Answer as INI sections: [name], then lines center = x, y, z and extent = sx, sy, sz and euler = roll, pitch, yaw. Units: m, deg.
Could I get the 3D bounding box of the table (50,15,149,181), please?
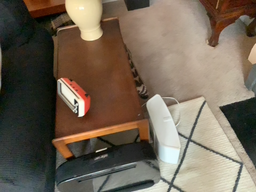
[table]
center = -0.170, -0.010, 1.280
extent = 0.390, 0.490, 0.810
euler = -12, 52, -3
